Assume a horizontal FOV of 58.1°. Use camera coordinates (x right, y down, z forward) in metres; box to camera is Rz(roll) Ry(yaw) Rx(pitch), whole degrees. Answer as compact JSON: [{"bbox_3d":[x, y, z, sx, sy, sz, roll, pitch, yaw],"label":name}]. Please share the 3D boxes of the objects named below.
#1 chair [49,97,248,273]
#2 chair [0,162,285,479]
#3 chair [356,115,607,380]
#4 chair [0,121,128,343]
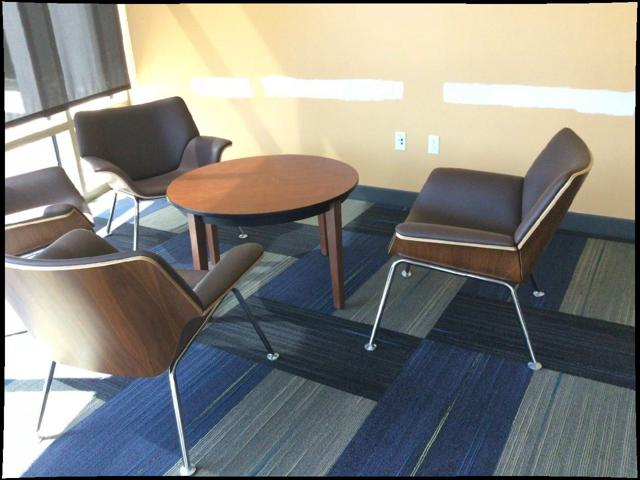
[{"bbox_3d":[-1.037,-0.391,3.530,0.859,0.722,0.770,-19,30,-30],"label":"chair"},{"bbox_3d":[-0.698,0.231,2.020,0.858,0.742,0.760,7,28,21],"label":"chair"},{"bbox_3d":[0.658,-0.040,2.410,0.808,0.752,0.800,6,27,19],"label":"chair"},{"bbox_3d":[-1.496,-0.070,2.820,0.798,0.742,0.850,-15,28,-23],"label":"chair"}]
